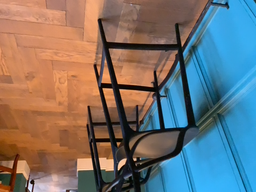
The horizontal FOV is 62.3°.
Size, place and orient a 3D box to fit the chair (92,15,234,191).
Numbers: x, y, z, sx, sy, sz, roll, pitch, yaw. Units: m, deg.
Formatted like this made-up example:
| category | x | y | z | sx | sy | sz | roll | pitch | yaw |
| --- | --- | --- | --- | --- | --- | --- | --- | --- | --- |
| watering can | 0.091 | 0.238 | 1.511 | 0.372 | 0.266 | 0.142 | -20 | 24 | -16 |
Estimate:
| category | x | y | z | sx | sy | sz | roll | pitch | yaw |
| --- | --- | --- | --- | --- | --- | --- | --- | --- | --- |
| chair | 0.070 | 0.040 | 1.190 | 0.510 | 0.890 | 0.450 | 1 | 146 | -12 |
